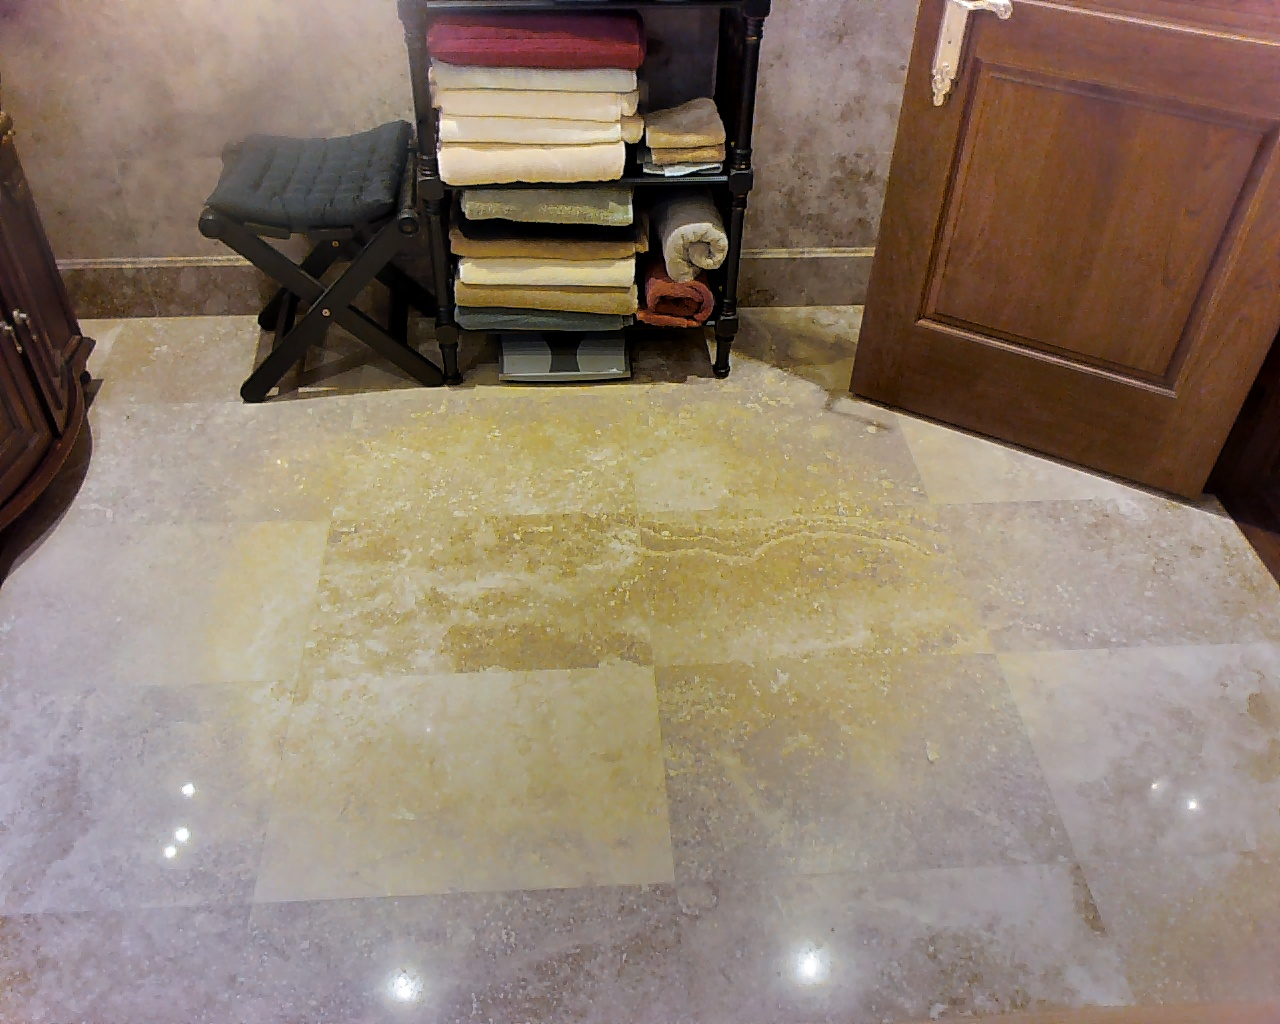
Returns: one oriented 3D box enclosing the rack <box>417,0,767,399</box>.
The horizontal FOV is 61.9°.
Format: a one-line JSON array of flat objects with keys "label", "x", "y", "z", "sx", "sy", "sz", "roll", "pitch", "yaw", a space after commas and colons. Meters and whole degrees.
[{"label": "rack", "x": -0.100, "y": -0.840, "z": 2.210, "sx": 0.620, "sy": 1.190, "sz": 0.390, "roll": -2, "pitch": 42, "yaw": -3}]
